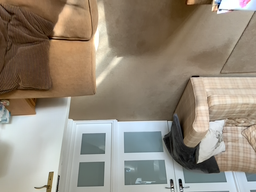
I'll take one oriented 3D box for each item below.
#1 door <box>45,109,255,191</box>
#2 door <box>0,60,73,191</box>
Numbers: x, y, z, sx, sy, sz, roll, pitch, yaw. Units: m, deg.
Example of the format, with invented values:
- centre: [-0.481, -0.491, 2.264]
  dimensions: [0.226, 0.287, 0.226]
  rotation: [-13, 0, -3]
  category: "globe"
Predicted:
- centre: [0.480, 1.200, 2.880]
  dimensions: [3.080, 2.170, 0.160]
  rotation: [0, 149, -4]
  category: "door"
- centre: [-0.980, 0.570, 1.910]
  dimensions: [0.800, 2.030, 0.080]
  rotation: [-10, 148, 13]
  category: "door"
